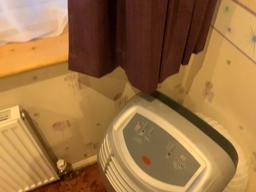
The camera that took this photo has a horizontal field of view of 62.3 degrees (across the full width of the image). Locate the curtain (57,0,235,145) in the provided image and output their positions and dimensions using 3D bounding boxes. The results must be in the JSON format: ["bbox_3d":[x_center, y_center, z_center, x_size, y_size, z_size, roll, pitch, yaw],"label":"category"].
[{"bbox_3d":[0.050,-0.470,0.310,0.440,1.670,0.180,-17,52,-14],"label":"curtain"}]
